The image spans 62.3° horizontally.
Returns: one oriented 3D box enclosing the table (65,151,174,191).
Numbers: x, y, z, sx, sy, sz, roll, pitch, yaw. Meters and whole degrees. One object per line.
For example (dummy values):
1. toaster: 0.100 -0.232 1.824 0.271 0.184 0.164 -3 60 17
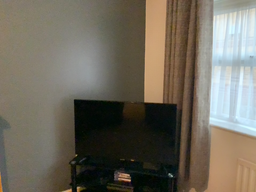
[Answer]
1. table: -0.070 0.900 2.140 1.020 0.430 0.390 3 10 13
